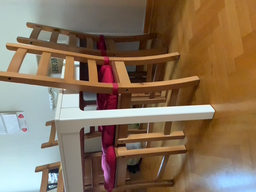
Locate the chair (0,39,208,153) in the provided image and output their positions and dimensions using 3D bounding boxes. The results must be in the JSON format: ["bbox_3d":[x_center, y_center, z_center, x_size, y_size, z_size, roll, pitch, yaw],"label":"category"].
[{"bbox_3d":[-0.150,-0.030,1.320,0.430,1.040,0.500,-108,19,-52],"label":"chair"}]
